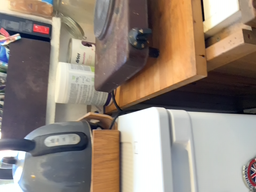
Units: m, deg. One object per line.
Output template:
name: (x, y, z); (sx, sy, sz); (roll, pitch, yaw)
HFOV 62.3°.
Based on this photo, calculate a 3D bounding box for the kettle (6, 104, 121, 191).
kettle: (-0.160, 0.150, 0.510); (0.270, 0.200, 0.220); (160, 113, -65)
